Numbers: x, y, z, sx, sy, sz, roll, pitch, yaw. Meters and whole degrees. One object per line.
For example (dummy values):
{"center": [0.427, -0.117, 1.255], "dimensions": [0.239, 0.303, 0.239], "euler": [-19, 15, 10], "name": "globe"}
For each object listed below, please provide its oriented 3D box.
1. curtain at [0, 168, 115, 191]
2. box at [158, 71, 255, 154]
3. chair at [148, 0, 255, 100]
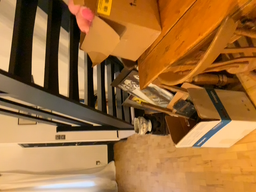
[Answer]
{"center": [-1.480, 1.910, 4.510], "dimensions": [0.250, 2.420, 0.520], "euler": [137, 131, -63], "name": "curtain"}
{"center": [0.630, 0.140, 1.720], "dimensions": [0.470, 0.520, 0.450], "euler": [115, 150, -47], "name": "box"}
{"center": [0.640, -0.300, 1.190], "dimensions": [0.450, 0.870, 0.480], "euler": [124, 142, -56], "name": "chair"}
